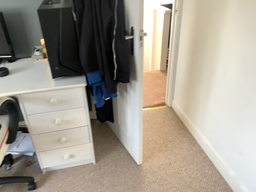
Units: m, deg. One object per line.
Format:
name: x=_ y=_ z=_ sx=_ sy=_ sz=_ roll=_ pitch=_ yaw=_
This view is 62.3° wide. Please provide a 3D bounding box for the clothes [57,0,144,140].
clothes: x=-0.220 y=-0.510 z=1.290 sx=0.310 sy=1.270 sz=0.810 roll=-12 pitch=33 yaw=-18
